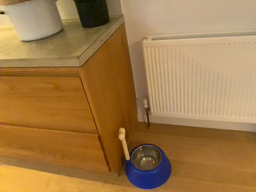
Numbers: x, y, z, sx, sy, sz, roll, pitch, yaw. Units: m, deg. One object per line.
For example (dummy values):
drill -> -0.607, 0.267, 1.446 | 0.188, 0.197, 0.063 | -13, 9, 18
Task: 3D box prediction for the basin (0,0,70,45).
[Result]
basin -> -0.540, -0.470, 1.240 | 0.220, 0.230, 0.280 | 3, 37, 19
